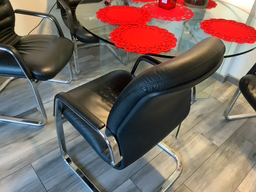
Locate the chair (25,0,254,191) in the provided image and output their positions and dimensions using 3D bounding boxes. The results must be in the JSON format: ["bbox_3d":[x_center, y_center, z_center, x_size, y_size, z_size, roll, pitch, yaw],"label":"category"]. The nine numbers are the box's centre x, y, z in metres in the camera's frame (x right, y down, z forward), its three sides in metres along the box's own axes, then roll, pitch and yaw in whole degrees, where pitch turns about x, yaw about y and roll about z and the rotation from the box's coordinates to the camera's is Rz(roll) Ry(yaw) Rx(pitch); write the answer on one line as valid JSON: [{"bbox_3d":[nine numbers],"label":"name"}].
[{"bbox_3d":[0.010,0.050,1.110,0.590,0.910,0.660,-30,52,-34],"label":"chair"}]

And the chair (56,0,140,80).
[{"bbox_3d":[-0.320,-0.750,2.050,0.590,0.870,0.660,-14,44,-21],"label":"chair"}]
